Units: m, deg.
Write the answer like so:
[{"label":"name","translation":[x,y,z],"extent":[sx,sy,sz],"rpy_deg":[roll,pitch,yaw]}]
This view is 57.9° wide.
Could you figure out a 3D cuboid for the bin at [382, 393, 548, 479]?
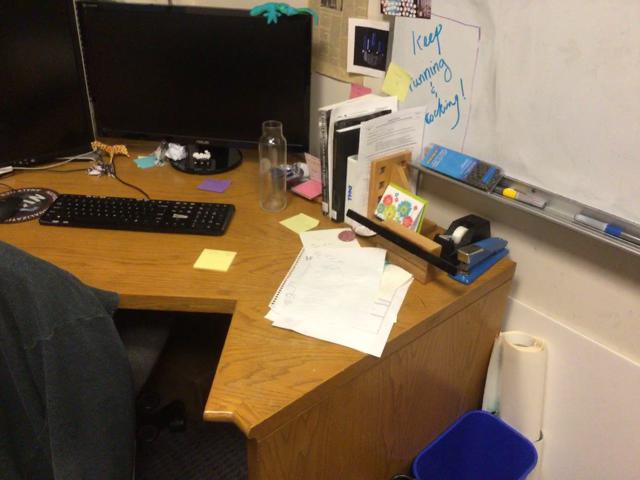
[{"label":"bin","translation":[0.330,0.630,1.390],"extent":[0.210,0.320,0.360],"rpy_deg":[28,37,37]}]

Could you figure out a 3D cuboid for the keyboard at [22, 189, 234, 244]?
[{"label":"keyboard","translation":[-0.450,-0.060,1.390],"extent":[0.460,0.030,0.150],"rpy_deg":[5,29,3]}]

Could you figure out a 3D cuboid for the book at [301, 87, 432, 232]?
[{"label":"book","translation":[0.110,-0.210,1.450],"extent":[0.210,0.270,0.220],"rpy_deg":[28,37,37]}]
